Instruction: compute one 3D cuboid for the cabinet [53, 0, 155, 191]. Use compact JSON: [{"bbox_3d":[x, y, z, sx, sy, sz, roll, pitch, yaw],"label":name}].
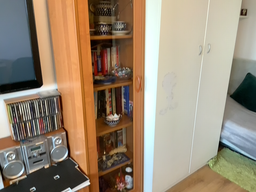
[{"bbox_3d":[-0.180,-0.110,1.600,0.480,2.010,0.530,-13,23,-34],"label":"cabinet"}]
